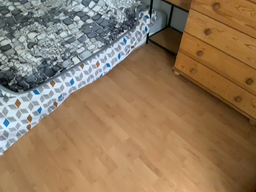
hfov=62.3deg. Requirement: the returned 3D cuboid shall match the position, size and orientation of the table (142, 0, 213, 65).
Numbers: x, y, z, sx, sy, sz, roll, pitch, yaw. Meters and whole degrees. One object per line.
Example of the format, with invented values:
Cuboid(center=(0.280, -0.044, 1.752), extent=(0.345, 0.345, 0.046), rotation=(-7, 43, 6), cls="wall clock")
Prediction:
Cuboid(center=(0.430, -0.710, 1.930), extent=(0.370, 0.630, 0.420), rotation=(-34, 58, -28), cls="table")
